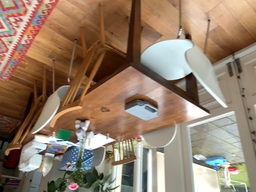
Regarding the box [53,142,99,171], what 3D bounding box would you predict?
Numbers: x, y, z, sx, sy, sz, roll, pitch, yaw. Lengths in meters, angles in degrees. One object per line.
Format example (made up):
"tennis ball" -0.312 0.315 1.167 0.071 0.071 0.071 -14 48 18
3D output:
"box" -0.620 0.740 2.550 0.420 0.220 0.330 -23 141 38
